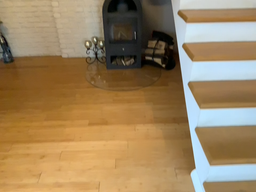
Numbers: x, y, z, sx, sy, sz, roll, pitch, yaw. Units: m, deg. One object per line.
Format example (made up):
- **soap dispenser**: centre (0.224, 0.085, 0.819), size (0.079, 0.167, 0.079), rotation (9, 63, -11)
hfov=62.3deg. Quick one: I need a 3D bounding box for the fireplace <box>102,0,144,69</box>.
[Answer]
- **fireplace**: centre (-0.050, -0.860, 2.800), size (0.480, 0.900, 0.400), rotation (-1, 34, 0)
